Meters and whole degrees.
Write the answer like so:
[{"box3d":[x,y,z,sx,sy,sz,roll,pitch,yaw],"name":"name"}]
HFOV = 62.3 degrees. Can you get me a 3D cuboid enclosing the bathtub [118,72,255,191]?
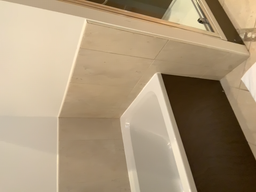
[{"box3d":[0.430,0.740,1.370,0.700,0.560,1.630,128,139,-50],"name":"bathtub"}]
